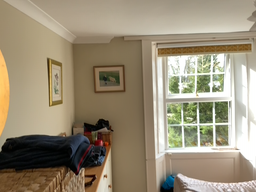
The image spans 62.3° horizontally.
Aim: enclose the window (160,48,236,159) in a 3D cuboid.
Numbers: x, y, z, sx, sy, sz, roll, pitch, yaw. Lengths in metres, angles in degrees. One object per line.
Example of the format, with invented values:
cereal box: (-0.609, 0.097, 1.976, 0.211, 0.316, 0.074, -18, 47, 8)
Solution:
window: (0.980, 0.120, 3.020, 0.970, 1.490, 0.240, -2, 3, 5)
